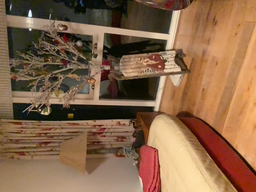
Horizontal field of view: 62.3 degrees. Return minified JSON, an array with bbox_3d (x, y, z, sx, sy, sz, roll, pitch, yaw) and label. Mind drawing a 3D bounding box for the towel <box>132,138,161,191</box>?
[{"bbox_3d":[0.160,0.680,2.010,0.550,0.070,0.460,175,97,-75],"label":"towel"}]
